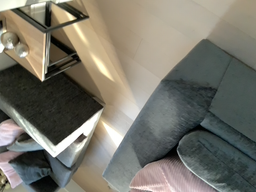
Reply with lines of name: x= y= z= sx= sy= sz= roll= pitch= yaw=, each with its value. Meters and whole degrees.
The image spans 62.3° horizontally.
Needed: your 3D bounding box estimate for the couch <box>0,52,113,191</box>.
couch: x=-0.980 y=0.510 z=2.400 sx=0.960 sy=0.720 sz=1.580 roll=37 pitch=134 yaw=10
